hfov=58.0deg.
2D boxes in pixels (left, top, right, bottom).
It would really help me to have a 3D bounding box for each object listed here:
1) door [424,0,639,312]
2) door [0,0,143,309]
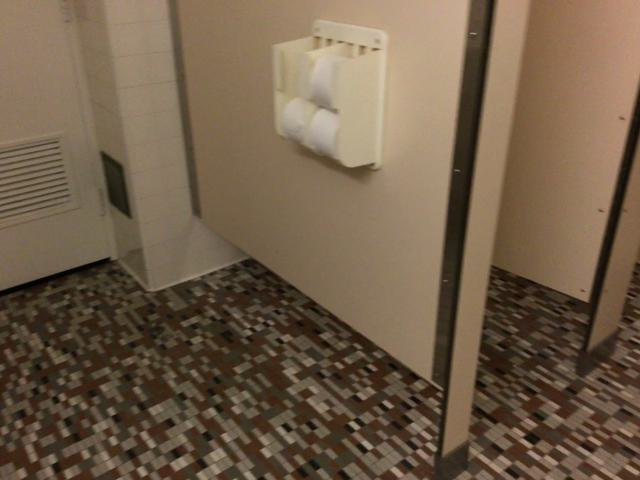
[{"bbox_3d":[0.620,-0.490,1.740,0.060,1.360,0.650,-25,34,-37],"label":"door"},{"bbox_3d":[-1.280,-0.510,2.130,0.960,1.630,0.140,-21,32,-33],"label":"door"}]
